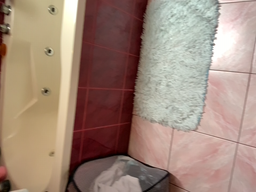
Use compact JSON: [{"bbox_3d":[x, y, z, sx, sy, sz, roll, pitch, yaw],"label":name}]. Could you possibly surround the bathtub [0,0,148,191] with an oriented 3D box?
[{"bbox_3d":[-0.400,-0.180,1.430,0.750,0.550,1.700,12,97,36],"label":"bathtub"}]
